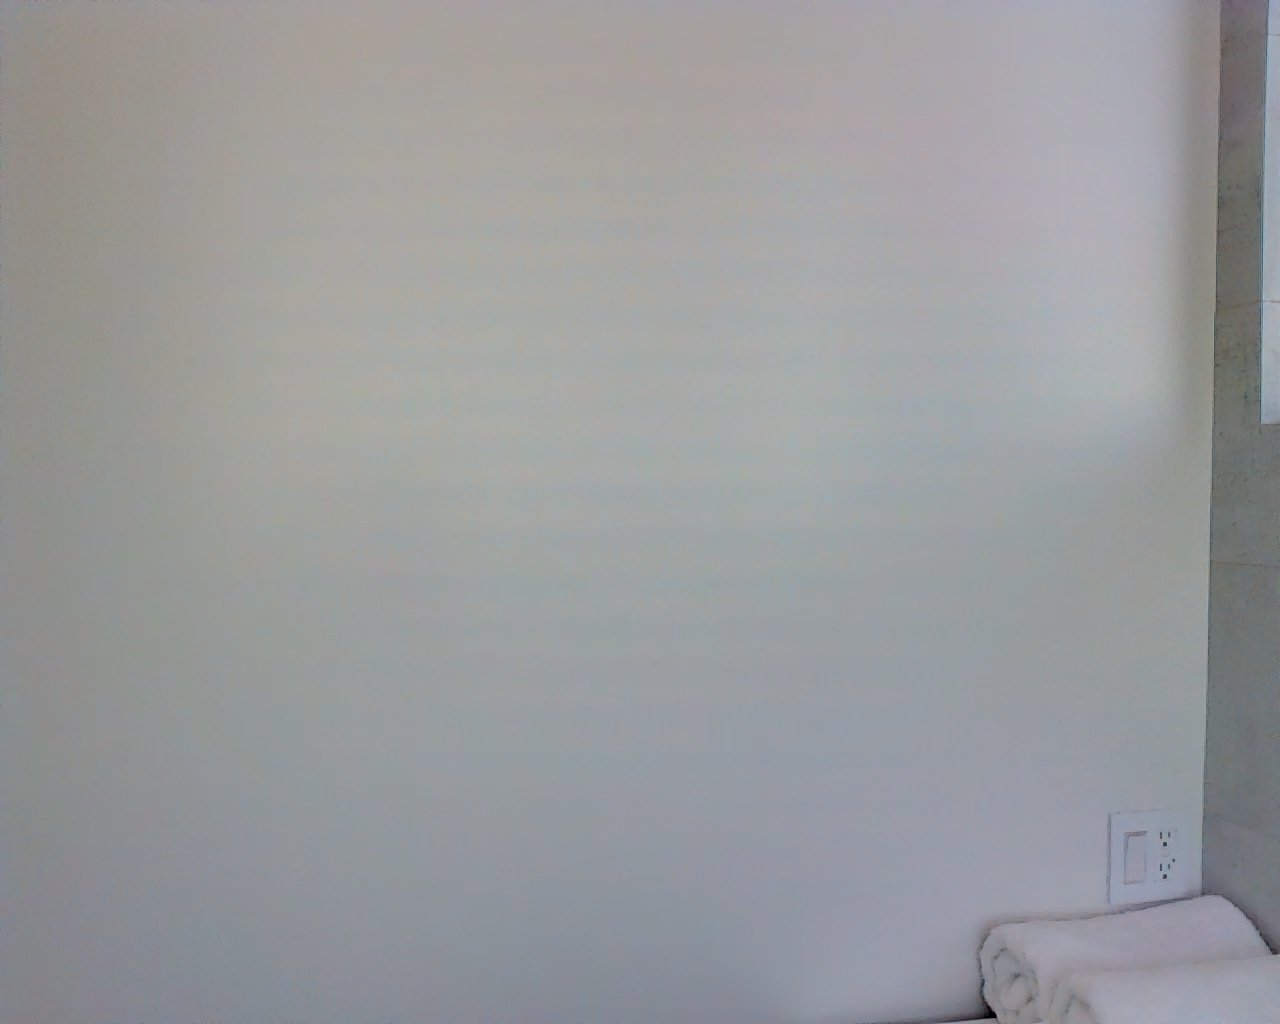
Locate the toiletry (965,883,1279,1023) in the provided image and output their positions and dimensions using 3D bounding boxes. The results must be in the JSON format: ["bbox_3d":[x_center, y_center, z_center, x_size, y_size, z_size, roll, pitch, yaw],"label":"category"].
[{"bbox_3d":[0.620,0.560,1.240,0.350,0.150,0.330,3,0,-10],"label":"toiletry"}]
